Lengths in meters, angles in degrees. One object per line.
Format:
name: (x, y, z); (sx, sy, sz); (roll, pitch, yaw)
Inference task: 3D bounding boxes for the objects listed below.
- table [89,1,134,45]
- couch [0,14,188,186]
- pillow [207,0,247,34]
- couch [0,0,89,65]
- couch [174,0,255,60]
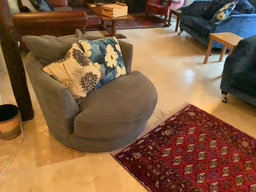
table: (-0.360, -1.450, 4.120); (0.590, 0.520, 1.010); (-9, 37, -19)
couch: (-0.260, -0.120, 1.920); (1.040, 0.810, 1.110); (26, 40, 28)
pillow: (1.690, -1.410, 3.630); (0.270, 0.510, 0.460); (-40, 37, 12)
couch: (-1.450, -1.390, 3.570); (1.160, 0.890, 1.860); (-9, 37, -19)
couch: (1.690, -1.370, 3.920); (1.090, 0.900, 1.250); (-5, 36, -13)
